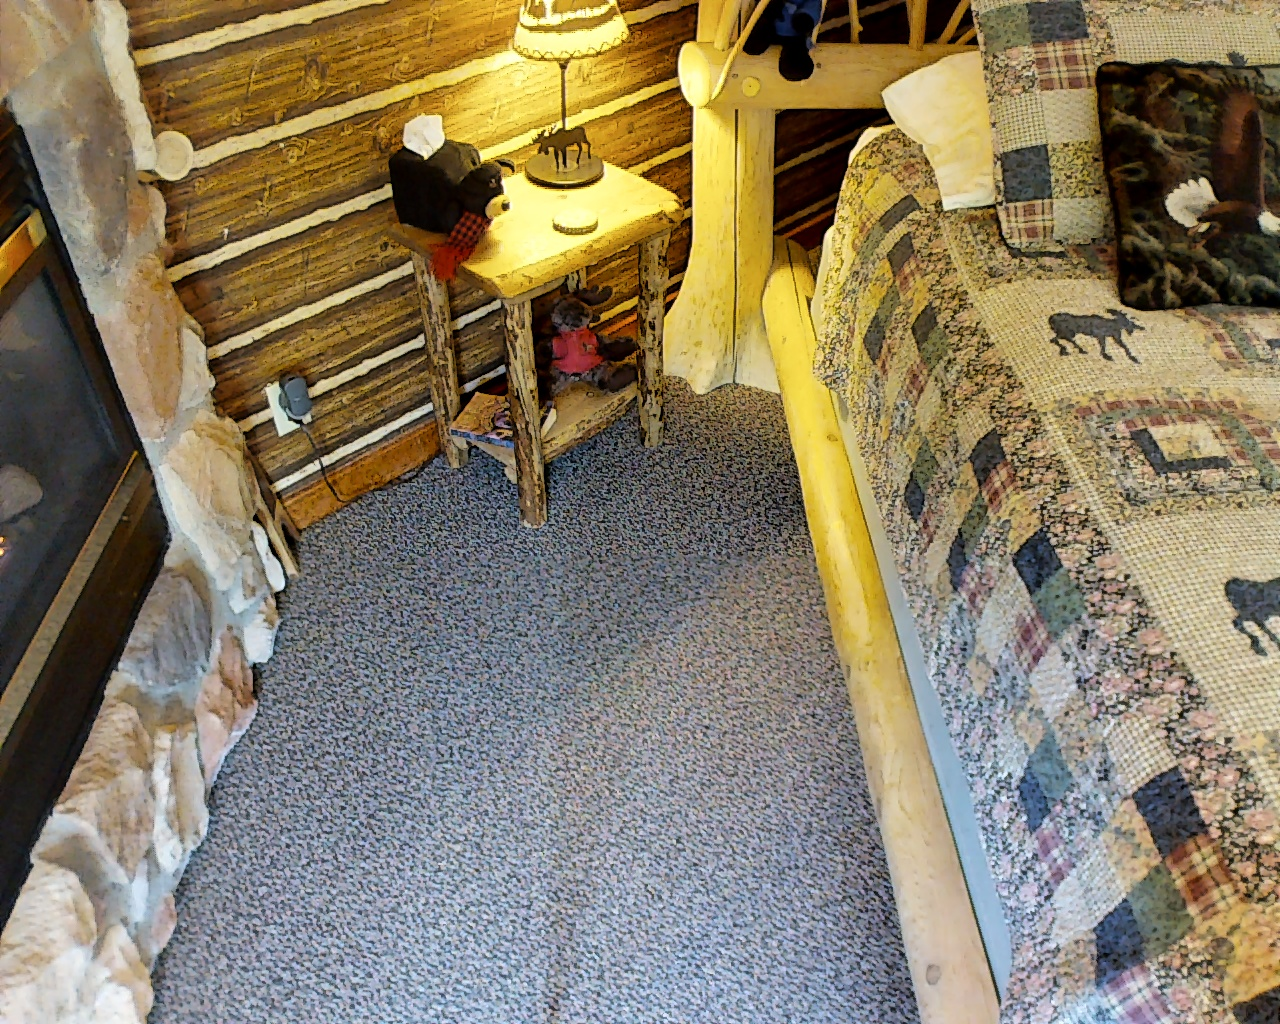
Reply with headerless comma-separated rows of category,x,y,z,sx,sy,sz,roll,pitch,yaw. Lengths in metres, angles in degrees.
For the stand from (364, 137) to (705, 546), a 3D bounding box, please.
stand,-0.200,-0.380,2.340,0.410,0.610,0.540,33,52,32
